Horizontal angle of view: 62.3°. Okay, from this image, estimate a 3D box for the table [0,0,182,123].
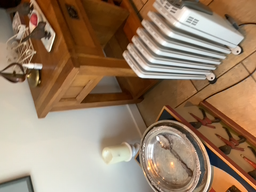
[{"bbox_3d":[-0.450,-0.780,1.600,0.510,0.820,1.830,-43,63,37],"label":"table"}]
